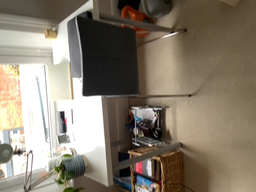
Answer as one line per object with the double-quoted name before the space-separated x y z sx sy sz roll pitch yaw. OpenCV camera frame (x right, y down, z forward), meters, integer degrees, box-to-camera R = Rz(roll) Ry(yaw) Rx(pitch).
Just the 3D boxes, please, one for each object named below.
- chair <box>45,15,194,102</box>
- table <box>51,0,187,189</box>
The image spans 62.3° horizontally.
"chair" -0.020 -0.210 1.420 0.460 0.860 0.400 -1 95 51
"table" -0.060 -0.030 1.580 0.610 0.740 1.010 -1 93 50
